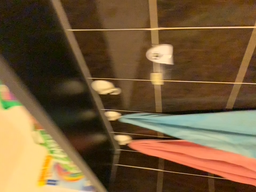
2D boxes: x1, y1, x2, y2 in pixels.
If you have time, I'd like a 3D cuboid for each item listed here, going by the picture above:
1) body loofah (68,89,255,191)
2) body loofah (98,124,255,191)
[{"bbox_3d":[0.530,0.190,0.740,0.290,1.420,0.230,78,-161,-48],"label":"body loofah"},{"bbox_3d":[0.450,0.340,0.960,0.210,1.110,0.270,76,-159,-52],"label":"body loofah"}]
